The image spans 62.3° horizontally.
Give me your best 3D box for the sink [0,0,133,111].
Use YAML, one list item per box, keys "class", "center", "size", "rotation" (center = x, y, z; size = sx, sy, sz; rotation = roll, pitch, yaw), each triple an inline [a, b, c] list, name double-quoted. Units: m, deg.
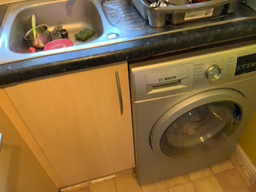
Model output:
- class: "sink"
  center: [-0.270, -0.230, 0.890]
  size: [0.450, 0.190, 0.490]
  rotation: [-13, 45, -9]
